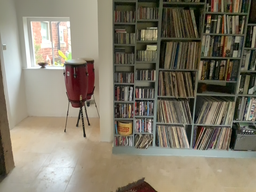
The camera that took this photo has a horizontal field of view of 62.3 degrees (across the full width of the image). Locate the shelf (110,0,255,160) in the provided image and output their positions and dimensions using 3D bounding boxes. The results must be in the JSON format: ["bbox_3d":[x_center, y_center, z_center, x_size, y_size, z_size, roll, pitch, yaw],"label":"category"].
[{"bbox_3d":[0.890,-0.460,2.610,2.170,2.500,0.380,2,16,3],"label":"shelf"}]

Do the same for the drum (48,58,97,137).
[{"bbox_3d":[-0.880,-0.030,3.600,0.500,1.140,0.890,2,16,3],"label":"drum"}]
